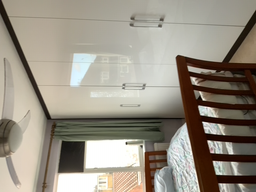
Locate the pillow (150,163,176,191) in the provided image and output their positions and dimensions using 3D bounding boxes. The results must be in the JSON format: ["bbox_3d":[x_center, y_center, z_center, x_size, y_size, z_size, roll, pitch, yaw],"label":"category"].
[{"bbox_3d":[0.490,1.300,2.910,0.390,0.220,0.640,101,167,-57],"label":"pillow"}]
